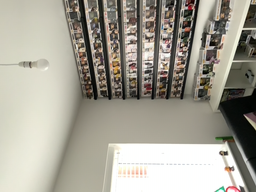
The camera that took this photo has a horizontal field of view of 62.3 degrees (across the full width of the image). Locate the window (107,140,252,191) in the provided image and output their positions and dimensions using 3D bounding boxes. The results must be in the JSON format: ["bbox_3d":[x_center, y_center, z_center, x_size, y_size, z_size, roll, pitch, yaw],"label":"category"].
[{"bbox_3d":[0.470,1.010,1.980,1.340,1.330,0.250,-88,-3,-54],"label":"window"}]

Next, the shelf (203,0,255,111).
[{"bbox_3d":[1.420,-0.490,2.380,0.400,0.750,1.440,-88,-3,-50],"label":"shelf"}]
